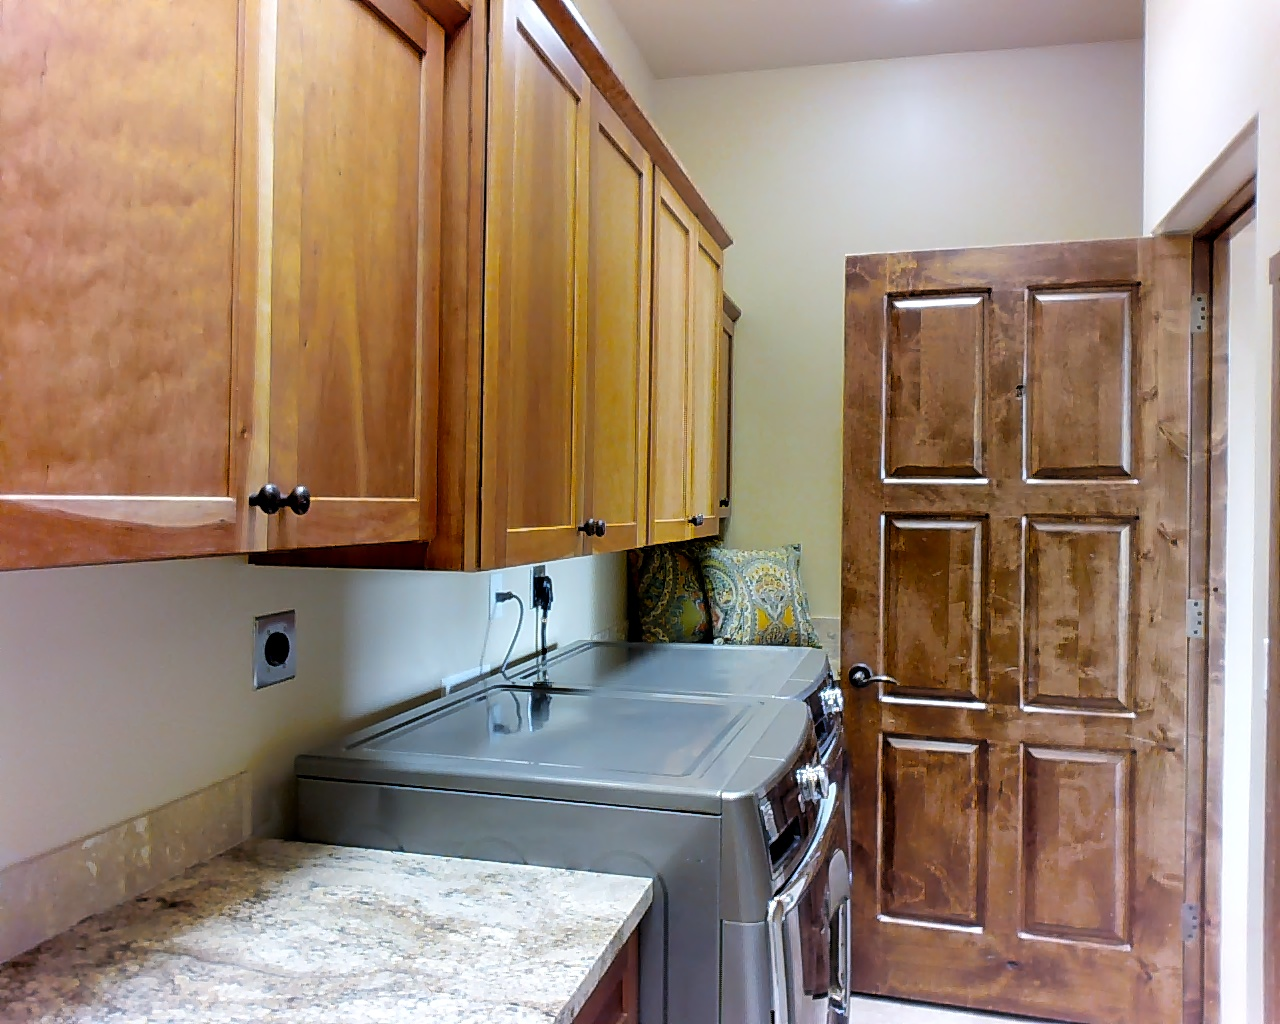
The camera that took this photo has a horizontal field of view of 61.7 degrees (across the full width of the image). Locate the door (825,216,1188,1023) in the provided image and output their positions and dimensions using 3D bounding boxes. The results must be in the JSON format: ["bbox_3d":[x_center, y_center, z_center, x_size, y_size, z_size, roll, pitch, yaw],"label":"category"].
[{"bbox_3d":[0.990,0.320,2.970,0.920,2.191,0.070,1,0,18],"label":"door"}]

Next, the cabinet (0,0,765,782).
[{"bbox_3d":[-0.270,-0.360,1.990,0.420,1.040,4.300,1,0,14],"label":"cabinet"}]
